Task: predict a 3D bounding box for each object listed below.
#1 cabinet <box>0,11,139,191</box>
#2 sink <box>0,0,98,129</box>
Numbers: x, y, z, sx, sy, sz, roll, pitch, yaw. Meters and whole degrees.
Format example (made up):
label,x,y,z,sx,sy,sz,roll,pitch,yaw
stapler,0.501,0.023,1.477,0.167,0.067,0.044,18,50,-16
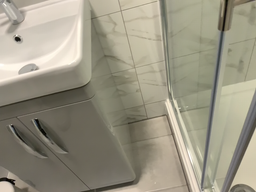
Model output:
label,x,y,z,sx,sy,sz,roll,pitch,yaw
cabinet,-0.280,0.130,0.990,0.490,0.790,0.410,-12,48,4
sink,-0.370,-0.120,0.690,0.510,0.160,0.420,-12,48,4
